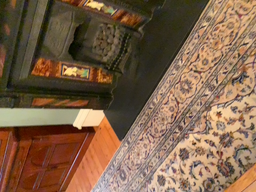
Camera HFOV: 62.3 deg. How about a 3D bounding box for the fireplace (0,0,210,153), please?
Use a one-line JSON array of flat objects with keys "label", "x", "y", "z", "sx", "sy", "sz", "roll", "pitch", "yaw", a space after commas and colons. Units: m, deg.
[{"label": "fireplace", "x": -0.390, "y": -0.400, "z": 1.580, "sx": 0.780, "sy": 1.200, "sz": 1.430, "roll": 53, "pitch": 125, "yaw": 37}]
